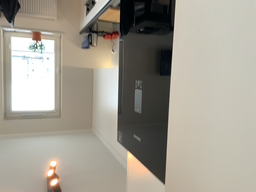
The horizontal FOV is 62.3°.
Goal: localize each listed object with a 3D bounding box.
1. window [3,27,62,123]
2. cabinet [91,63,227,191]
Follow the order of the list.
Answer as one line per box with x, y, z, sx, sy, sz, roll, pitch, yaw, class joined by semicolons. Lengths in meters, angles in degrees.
-1.650;-0.340;3.720;0.900;1.580;0.120;0;-174;-21;window
0.010;0.230;2.750;0.400;1.190;2.670;0;-174;-22;cabinet
